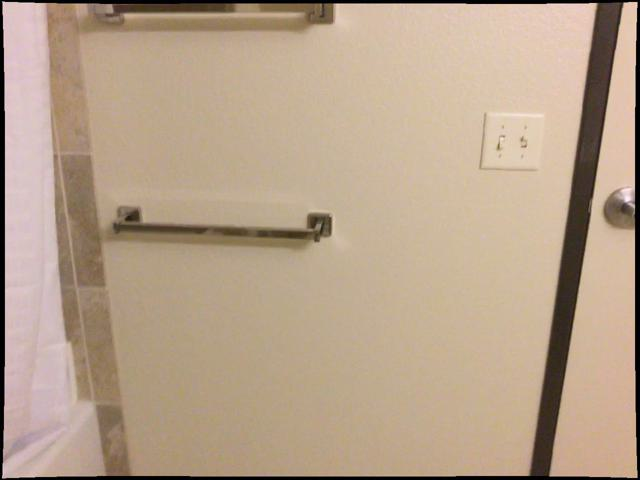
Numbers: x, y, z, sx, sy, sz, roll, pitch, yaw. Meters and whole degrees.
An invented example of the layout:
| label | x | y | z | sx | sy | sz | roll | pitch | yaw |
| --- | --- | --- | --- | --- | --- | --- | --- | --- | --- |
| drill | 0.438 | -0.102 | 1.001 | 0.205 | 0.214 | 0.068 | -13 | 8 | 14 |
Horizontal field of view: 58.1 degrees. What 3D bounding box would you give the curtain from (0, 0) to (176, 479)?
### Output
| label | x | y | z | sx | sy | sz | roll | pitch | yaw |
| --- | --- | --- | --- | --- | --- | --- | --- | --- | --- |
| curtain | -0.628 | -0.231 | 1.090 | 0.239 | 1.934 | 0.480 | -4 | 18 | 6 |
